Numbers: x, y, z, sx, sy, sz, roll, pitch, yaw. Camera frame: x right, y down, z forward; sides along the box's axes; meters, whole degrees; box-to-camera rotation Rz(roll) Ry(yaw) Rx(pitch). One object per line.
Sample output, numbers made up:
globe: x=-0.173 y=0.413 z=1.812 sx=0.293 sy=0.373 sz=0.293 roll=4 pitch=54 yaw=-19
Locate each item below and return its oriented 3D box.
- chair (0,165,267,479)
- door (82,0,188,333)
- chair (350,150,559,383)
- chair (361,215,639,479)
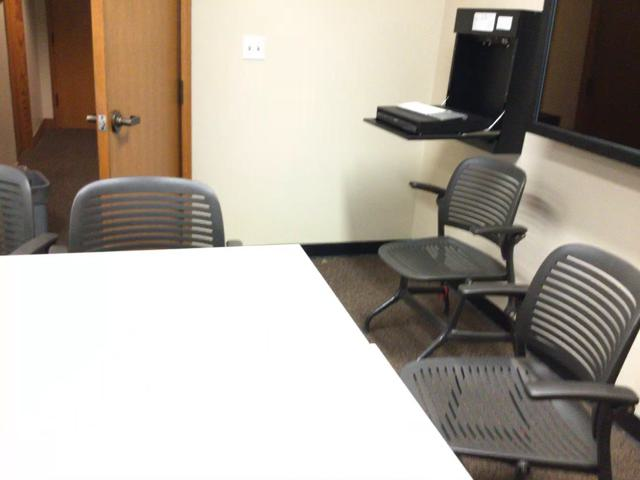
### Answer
chair: x=-0.570 y=0.230 z=1.850 sx=0.660 sy=0.810 sz=0.500 roll=0 pitch=21 yaw=-16
door: x=-0.740 y=-0.600 z=2.410 sx=0.150 sy=1.790 sz=0.760 roll=6 pitch=16 yaw=1
chair: x=0.510 y=0.090 z=2.430 sx=0.540 sy=0.800 sz=0.530 roll=0 pitch=21 yaw=-16
chair: x=0.510 y=0.450 z=1.550 sx=0.510 sy=0.860 sz=0.640 roll=0 pitch=21 yaw=-16
